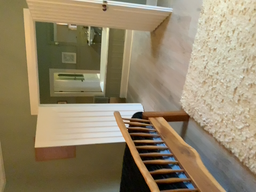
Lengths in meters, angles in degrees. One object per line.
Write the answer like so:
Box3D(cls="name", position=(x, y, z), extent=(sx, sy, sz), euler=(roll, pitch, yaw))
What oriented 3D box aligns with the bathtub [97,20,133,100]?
Box3D(cls="bathtub", position=(-0.390, -0.930, 5.550), extent=(0.820, 0.630, 1.910), euler=(-123, 36, -62))
